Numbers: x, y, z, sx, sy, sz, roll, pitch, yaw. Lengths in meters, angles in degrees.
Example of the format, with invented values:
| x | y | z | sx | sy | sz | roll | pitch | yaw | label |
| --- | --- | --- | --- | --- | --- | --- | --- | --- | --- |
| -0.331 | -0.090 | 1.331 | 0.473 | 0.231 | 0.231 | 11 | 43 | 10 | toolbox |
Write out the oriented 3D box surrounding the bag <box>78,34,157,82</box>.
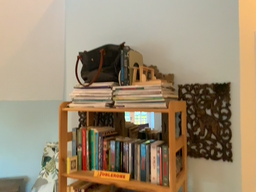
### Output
| x | y | z | sx | sy | sz | roll | pitch | yaw | label |
| --- | --- | --- | --- | --- | --- | --- | --- | --- | --- |
| -0.060 | -0.220 | 1.380 | 0.420 | 0.220 | 0.300 | -1 | -1 | 27 | bag |
